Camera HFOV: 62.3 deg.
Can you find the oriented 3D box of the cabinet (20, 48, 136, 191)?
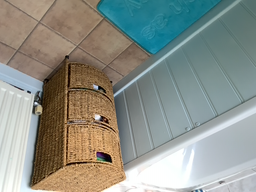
[{"bbox_3d":[-0.240,0.130,1.040,0.330,0.570,0.330,-35,136,27],"label":"cabinet"}]

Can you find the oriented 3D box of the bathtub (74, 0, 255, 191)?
[{"bbox_3d":[0.640,-0.060,1.060,1.800,0.540,0.860,-35,136,27],"label":"bathtub"}]
